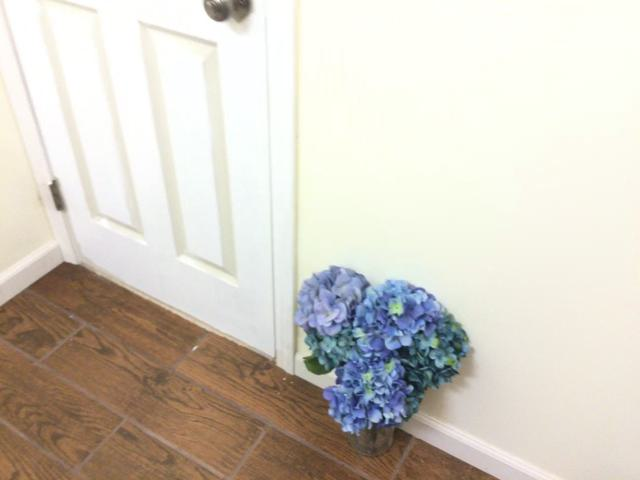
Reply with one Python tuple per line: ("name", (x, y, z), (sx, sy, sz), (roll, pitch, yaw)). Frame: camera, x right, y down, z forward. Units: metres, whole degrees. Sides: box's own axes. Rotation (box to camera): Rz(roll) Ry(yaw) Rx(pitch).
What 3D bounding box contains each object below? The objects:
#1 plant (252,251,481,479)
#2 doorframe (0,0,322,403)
("plant", (0.080, 0.310, 1.180), (0.350, 0.430, 0.230), (21, 41, 23))
("doorframe", (-0.390, -0.330, 1.180), (0.850, 1.440, 0.080), (21, 41, 23))
